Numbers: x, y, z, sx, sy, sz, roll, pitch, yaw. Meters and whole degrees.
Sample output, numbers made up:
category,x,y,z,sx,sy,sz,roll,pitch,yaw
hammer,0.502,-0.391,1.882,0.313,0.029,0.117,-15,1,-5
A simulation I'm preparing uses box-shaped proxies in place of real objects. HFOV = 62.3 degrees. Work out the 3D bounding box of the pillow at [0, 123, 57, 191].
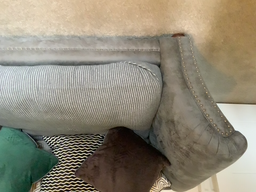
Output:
category,x,y,z,sx,sy,sz,roll,pitch,yaw
pillow,-0.760,0.420,1.270,0.520,0.440,0.250,-1,150,3

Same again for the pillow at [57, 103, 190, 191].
category,x,y,z,sx,sy,sz,roll,pitch,yaw
pillow,-0.010,0.450,1.300,0.510,0.570,0.330,29,147,13
